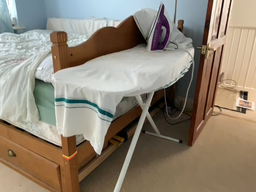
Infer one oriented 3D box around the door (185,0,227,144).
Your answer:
[{"bbox_3d":[0.690,-0.610,1.690,0.030,1.930,0.700,14,25,28],"label":"door"}]
